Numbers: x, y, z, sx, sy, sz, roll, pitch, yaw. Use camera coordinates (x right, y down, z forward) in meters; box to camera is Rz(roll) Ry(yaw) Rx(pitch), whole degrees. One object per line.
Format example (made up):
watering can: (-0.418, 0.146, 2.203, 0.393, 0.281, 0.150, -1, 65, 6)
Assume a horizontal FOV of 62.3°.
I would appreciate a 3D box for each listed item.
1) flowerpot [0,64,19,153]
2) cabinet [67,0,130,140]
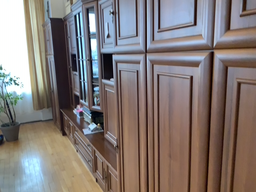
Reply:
flowerpot: (-2.280, 0.170, 3.690, 0.480, 1.380, 0.870, -6, 13, -22)
cabinet: (-0.410, -0.380, 2.810, 0.450, 1.620, 0.920, -8, 14, -28)
